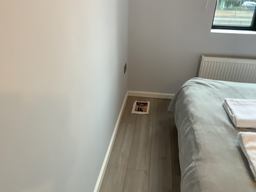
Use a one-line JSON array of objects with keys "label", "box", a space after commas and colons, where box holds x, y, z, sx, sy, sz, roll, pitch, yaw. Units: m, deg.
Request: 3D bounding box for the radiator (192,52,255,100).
[{"label": "radiator", "box": [1.140, -0.230, 2.540, 0.630, 0.540, 0.120, 4, 29, 5]}]

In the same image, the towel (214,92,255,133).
[{"label": "towel", "box": [0.850, 0.110, 1.550, 0.310, 0.080, 0.410, 3, 29, 4]}]
